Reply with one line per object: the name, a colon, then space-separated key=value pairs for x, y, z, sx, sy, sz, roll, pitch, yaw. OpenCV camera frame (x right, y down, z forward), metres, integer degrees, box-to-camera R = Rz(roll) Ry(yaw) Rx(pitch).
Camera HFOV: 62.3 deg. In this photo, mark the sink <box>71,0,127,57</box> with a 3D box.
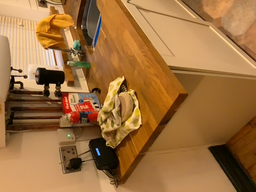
sink: x=-0.250 y=-0.610 z=1.630 sx=0.370 sy=0.230 sz=0.470 roll=63 pitch=141 yaw=40
